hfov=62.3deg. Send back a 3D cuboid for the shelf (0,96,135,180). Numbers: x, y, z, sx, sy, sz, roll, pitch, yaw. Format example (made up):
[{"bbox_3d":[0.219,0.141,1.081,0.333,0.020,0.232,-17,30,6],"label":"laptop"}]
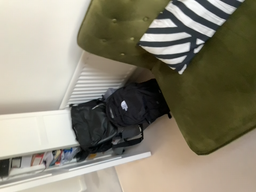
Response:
[{"bbox_3d":[-0.950,0.390,1.840,0.600,1.960,0.430,-51,52,45],"label":"shelf"}]
